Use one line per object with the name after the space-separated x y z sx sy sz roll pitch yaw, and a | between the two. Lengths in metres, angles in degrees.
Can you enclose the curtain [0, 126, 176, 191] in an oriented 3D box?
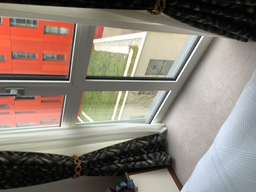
-0.700 0.660 1.920 0.220 2.450 0.560 58 140 46 | curtain
